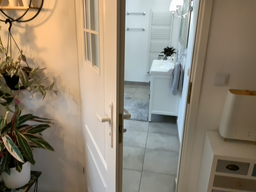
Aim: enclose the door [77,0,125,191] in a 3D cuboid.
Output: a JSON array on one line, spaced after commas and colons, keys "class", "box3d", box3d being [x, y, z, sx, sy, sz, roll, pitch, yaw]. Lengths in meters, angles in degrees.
[{"class": "door", "box3d": [-0.200, 0.140, 1.350, 0.100, 2.100, 0.800, -5, 20, -18]}]
